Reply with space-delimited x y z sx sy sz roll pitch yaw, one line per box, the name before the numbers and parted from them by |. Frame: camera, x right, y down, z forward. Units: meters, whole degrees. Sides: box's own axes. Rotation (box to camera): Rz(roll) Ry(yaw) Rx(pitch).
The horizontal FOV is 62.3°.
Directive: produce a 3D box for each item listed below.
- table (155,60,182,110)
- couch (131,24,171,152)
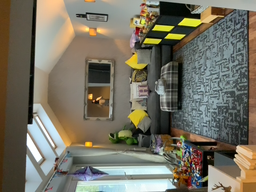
table | 0.820 -0.200 4.370 0.660 0.330 0.950 168 104 -81
couch | 0.530 -0.170 5.230 1.200 0.630 2.780 168 104 -81
